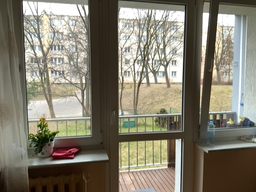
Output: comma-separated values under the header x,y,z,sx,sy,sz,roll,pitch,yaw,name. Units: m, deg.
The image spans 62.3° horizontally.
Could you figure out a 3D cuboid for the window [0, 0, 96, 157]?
x,y,z,sx,sy,sz,roll,pitch,yaw,name
-1.010,-0.260,1.800,1.430,1.510,0.240,-1,6,-13,window
